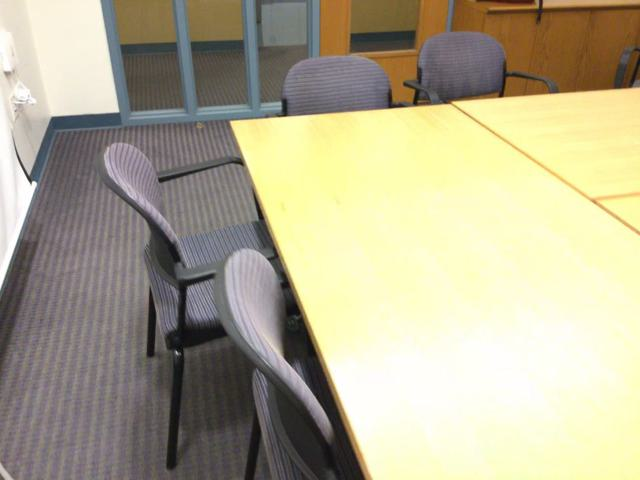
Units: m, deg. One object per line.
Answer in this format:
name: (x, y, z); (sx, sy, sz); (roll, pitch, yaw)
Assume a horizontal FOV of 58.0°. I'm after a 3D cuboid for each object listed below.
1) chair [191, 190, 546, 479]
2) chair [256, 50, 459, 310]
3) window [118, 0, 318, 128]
chair: (0.030, 0.380, 1.140); (0.430, 0.750, 0.510); (-8, 36, -11)
chair: (0.100, -0.250, 2.220); (0.550, 0.720, 0.620); (-8, 36, -11)
window: (-0.610, -1.200, 3.690); (1.140, 0.770, 0.330); (-8, 36, -11)
